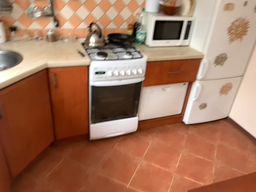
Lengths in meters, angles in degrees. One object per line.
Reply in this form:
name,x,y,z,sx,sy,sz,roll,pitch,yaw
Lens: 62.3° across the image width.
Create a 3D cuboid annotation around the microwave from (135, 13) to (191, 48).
microwave,0.340,-0.690,2.210,0.420,0.260,0.380,-5,32,-17
